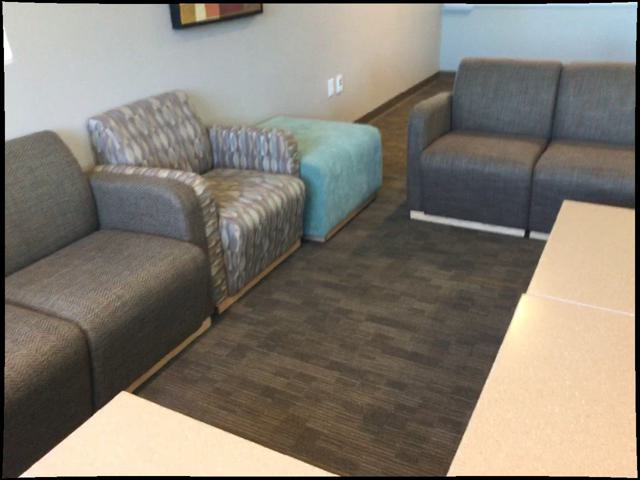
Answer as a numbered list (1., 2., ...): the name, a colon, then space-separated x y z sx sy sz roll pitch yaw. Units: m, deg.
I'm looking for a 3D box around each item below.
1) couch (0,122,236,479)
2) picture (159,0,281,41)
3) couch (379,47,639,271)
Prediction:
1. couch: -1.137 0.341 1.610 0.768 0.792 1.910 11 30 25
2. picture: -0.499 -1.354 3.000 0.120 0.471 0.900 11 30 25
3. couch: 1.327 -0.441 2.850 1.906 0.812 0.780 11 30 26
